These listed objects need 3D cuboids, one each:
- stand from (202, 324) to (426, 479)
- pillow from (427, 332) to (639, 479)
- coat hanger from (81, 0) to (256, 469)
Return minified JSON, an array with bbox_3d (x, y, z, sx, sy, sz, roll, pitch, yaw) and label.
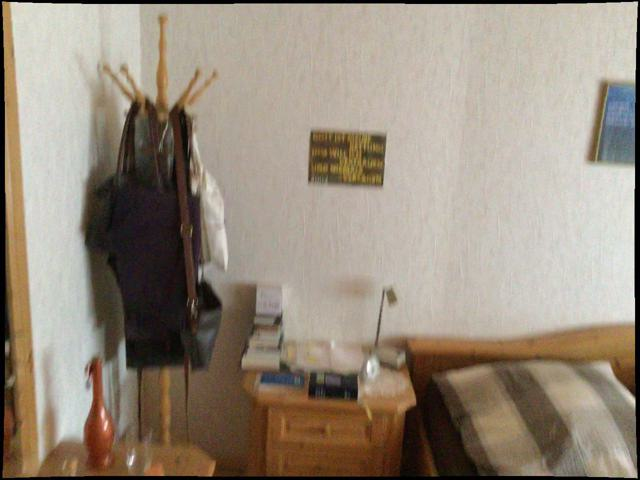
[{"bbox_3d":[-0.030,0.731,2.240,0.749,0.631,0.460,3,16,1],"label":"stand"},{"bbox_3d":[0.849,0.621,1.950,0.829,0.260,0.790,3,16,1],"label":"pillow"},{"bbox_3d":[-0.470,0.020,1.970,0.440,1.501,0.340,3,16,1],"label":"coat hanger"}]
